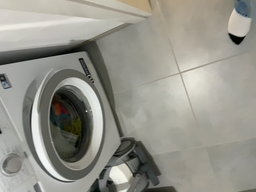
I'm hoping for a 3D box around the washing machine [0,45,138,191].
[{"bbox_3d":[-0.550,0.200,1.080,0.860,0.850,0.620,-14,101,22],"label":"washing machine"}]
